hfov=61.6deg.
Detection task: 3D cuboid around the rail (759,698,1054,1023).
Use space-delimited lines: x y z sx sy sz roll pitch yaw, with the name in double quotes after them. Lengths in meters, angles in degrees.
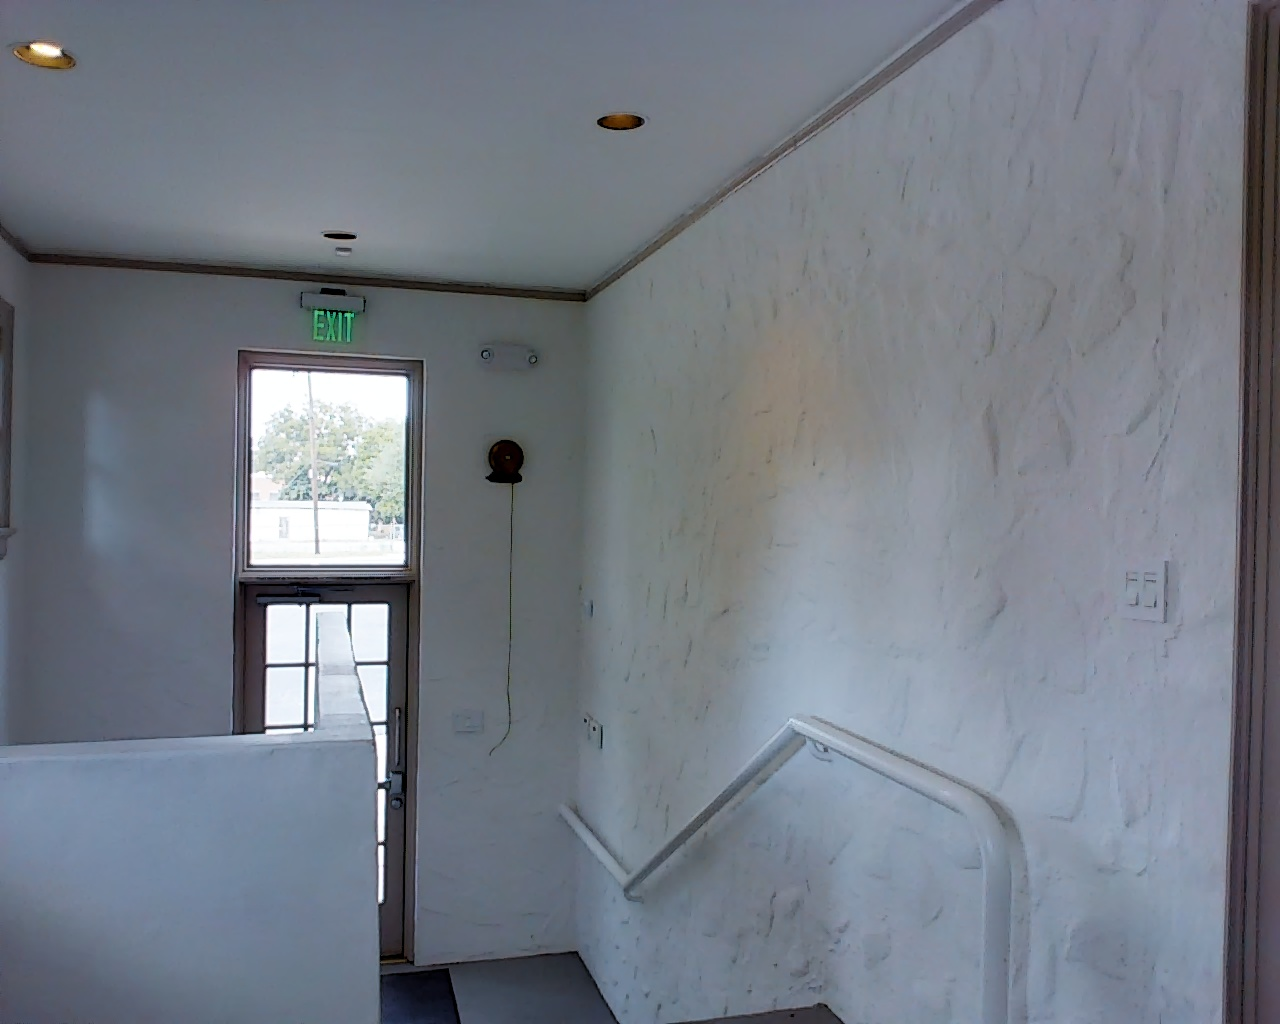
0.640 1.050 2.900 0.140 0.870 1.250 1 0 -17 "rail"
